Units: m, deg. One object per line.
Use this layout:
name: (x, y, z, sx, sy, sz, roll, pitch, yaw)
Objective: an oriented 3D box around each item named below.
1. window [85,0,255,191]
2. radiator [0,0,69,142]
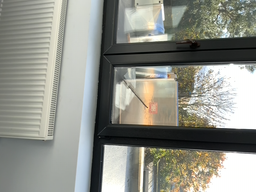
window: (0.460, -0.290, 1.450, 0.180, 1.380, 2.430, 34, 58, -74)
radiator: (-0.730, -0.370, 1.370, 0.080, 0.670, 1.260, 36, 56, -74)
